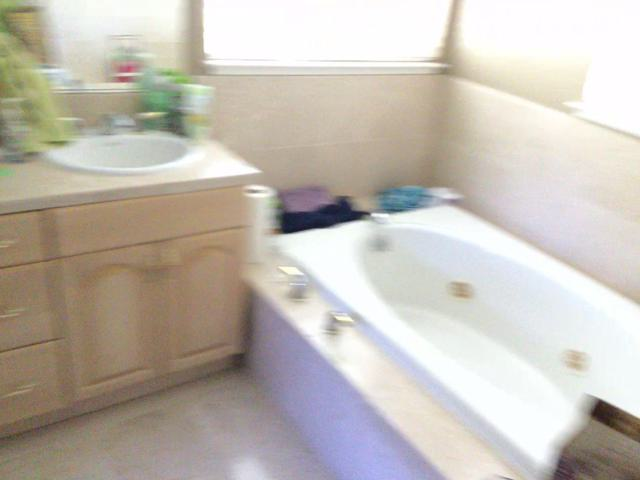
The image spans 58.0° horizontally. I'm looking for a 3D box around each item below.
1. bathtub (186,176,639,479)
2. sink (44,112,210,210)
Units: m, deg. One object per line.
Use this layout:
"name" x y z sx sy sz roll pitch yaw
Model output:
"bathtub" 0.500 0.410 2.080 1.210 0.540 1.830 -12 33 -37
"sink" -0.640 -0.280 1.910 0.390 0.160 0.400 -13 34 -38
